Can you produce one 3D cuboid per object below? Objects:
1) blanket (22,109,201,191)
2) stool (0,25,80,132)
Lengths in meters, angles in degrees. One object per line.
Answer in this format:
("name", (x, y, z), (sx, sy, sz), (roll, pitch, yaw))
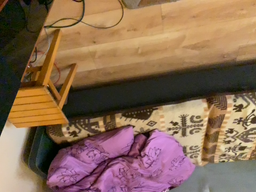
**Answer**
("blanket", (-0.040, 0.580, 1.420), (0.900, 0.520, 0.780), (-8, 141, 9))
("stool", (-0.520, -0.100, 1.210), (0.330, 0.480, 0.320), (-7, 141, 7))
